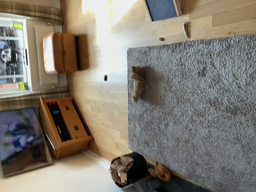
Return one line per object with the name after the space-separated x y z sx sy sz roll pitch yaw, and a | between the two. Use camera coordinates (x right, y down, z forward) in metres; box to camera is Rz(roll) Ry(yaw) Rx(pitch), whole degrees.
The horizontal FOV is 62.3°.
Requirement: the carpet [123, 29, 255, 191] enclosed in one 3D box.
0.510 0.170 1.850 1.690 0.040 1.280 7 102 52 | carpet

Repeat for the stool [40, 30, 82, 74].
-1.100 -0.700 3.480 0.520 0.440 0.610 1 97 52 | stool
